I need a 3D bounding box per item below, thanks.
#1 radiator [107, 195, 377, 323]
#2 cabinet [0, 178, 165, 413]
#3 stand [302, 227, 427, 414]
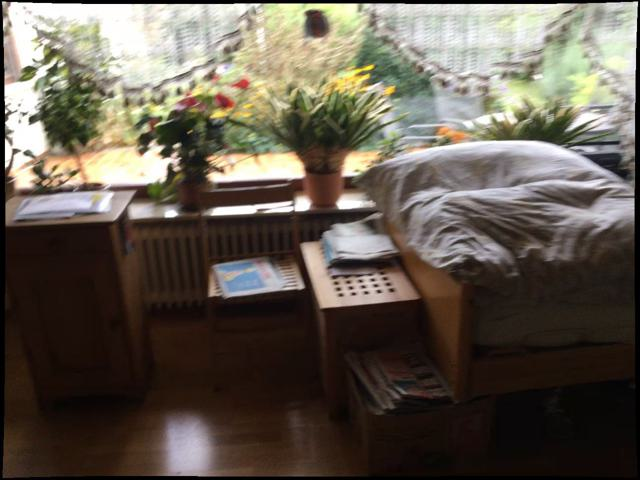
[{"bbox_3d":[-0.350,0.090,2.830,1.219,0.530,0.210,-3,25,-4],"label":"radiator"},{"bbox_3d":[-0.939,0.210,2.240,0.509,0.791,0.390,-3,25,-4],"label":"cabinet"},{"bbox_3d":[0.150,0.300,2.390,0.400,0.480,0.630,-3,25,-4],"label":"stand"}]
